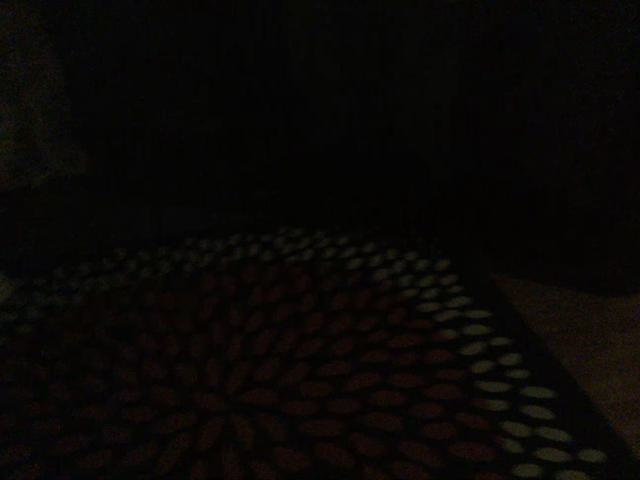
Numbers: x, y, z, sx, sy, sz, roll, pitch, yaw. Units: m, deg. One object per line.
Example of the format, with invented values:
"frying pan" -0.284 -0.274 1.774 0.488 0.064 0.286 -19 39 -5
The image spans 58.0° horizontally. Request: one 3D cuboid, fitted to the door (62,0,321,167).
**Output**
"door" -0.600 -1.160 2.720 1.130 1.540 0.190 -8 31 -9
